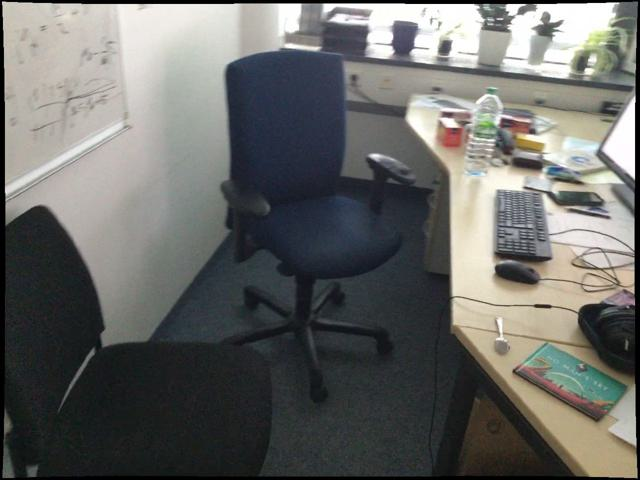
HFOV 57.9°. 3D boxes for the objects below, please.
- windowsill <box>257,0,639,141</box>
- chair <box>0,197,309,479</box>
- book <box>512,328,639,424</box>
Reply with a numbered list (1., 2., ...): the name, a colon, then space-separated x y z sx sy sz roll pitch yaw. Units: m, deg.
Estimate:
1. windowsill: 1.379 -0.871 2.960 3.347 0.510 0.550 7 31 8
2. chair: -0.370 0.410 1.340 0.619 0.821 0.550 4 31 2
3. book: 0.490 0.250 1.100 0.140 0.020 0.190 -24 40 -37
